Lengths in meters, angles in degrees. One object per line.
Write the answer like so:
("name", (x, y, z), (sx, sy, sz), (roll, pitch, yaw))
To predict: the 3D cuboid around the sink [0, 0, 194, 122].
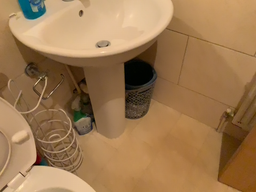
("sink", (-0.090, -0.260, 0.820), (0.470, 0.200, 0.570), (26, 54, 22))
